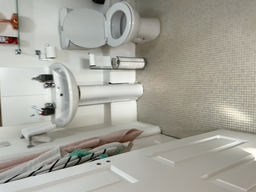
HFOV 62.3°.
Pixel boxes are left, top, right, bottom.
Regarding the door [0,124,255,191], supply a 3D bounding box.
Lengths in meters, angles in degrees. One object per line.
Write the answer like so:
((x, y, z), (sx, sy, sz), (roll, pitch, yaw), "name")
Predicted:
((0.040, 0.310, 0.650), (0.880, 1.950, 0.050), (4, 97, 55), "door")
